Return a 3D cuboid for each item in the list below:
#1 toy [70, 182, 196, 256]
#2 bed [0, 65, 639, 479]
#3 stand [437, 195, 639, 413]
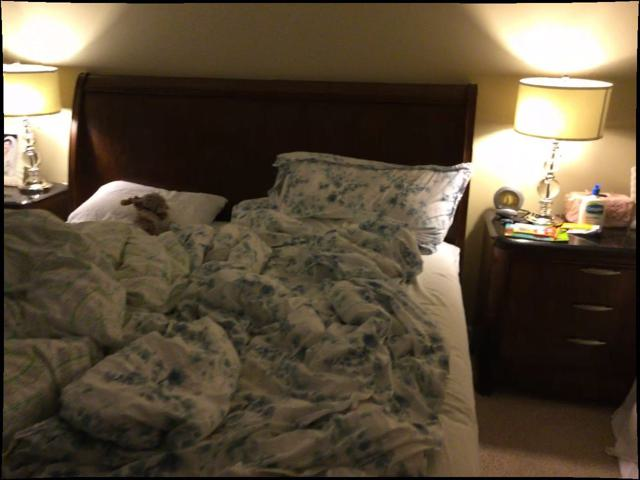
[{"bbox_3d":[-0.758,-0.100,2.410,0.309,0.160,0.450,4,21,10],"label":"toy"},{"bbox_3d":[-0.499,0.231,1.840,2.135,1.323,2.641,4,21,10],"label":"bed"},{"bbox_3d":[1.008,0.251,2.590,0.898,0.732,0.570,4,21,10],"label":"stand"}]
